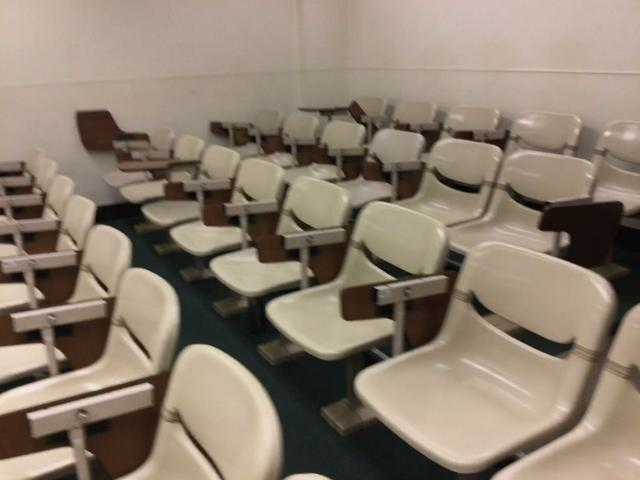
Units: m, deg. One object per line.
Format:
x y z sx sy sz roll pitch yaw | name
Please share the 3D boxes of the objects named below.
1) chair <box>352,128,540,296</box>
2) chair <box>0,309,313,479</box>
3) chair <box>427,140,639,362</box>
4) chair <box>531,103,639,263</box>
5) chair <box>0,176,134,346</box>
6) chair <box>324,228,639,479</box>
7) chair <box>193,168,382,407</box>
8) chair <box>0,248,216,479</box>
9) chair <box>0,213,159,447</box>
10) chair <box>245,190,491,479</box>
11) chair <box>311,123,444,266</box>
0.590 -0.190 2.890 0.590 0.690 0.690 -7 15 -27 | chair
-0.400 0.660 1.250 0.550 0.780 0.630 -7 15 -27 | chair
0.890 -0.010 2.480 0.580 0.780 0.590 -7 15 -27 | chair
1.500 -0.320 2.830 0.620 0.680 0.560 -7 15 -27 | chair
-1.390 0.070 3.160 0.560 0.750 0.590 -7 15 -27 | chair
0.390 0.410 1.610 0.530 0.740 0.610 -7 15 -27 | chair
-0.160 0.140 2.530 0.570 0.820 0.670 -7 15 -27 | chair
-0.700 0.510 1.730 0.550 0.770 0.770 -7 15 -27 | chair
-0.980 0.280 2.160 0.570 0.620 0.620 -7 15 -27 | chair
0.130 0.290 2.060 0.560 0.820 0.680 -7 15 -27 | chair
0.310 -0.290 3.290 0.540 0.710 0.510 -7 15 -27 | chair
